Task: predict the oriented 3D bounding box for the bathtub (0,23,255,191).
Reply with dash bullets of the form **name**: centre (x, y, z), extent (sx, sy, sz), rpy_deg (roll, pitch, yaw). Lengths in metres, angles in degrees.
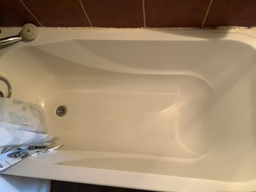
- **bathtub**: centre (0.000, 0.080, 1.170), extent (1.400, 0.580, 0.690), rpy_deg (3, 76, 7)
